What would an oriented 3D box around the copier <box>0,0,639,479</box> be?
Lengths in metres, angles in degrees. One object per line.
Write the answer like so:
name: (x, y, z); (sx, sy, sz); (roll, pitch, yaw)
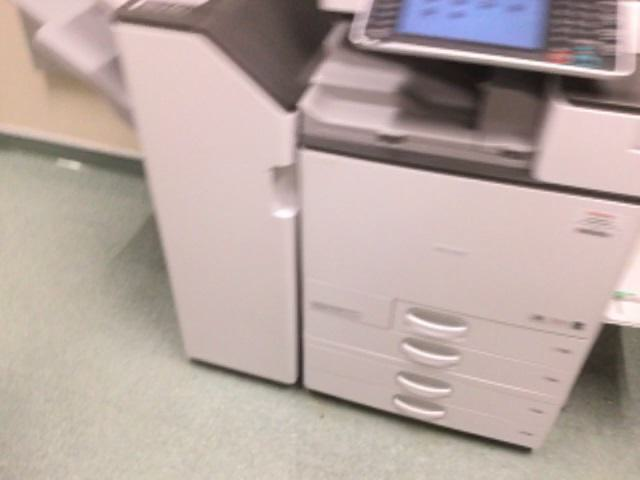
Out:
copier: (0.160, -0.260, 1.340); (1.560, 1.220, 0.860); (11, 41, 13)
